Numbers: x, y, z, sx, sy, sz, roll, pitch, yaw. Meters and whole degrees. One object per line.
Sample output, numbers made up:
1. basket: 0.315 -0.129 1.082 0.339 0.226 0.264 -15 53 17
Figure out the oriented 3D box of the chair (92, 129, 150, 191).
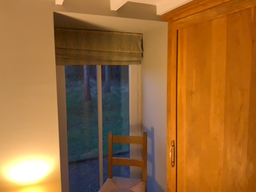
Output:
1. chair: -0.040 0.860 2.080 0.460 0.930 0.490 2 7 10
